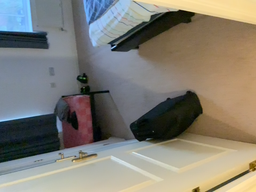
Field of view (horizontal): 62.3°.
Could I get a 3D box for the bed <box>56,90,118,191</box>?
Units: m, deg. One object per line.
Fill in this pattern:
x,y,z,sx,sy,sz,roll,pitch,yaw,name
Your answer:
-0.660,0.930,3.300,1.050,0.460,1.980,-3,92,57,bed
